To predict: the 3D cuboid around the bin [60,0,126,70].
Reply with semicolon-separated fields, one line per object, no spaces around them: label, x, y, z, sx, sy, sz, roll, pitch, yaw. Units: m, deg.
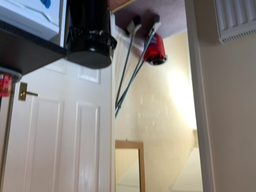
bin;-0.250;-0.600;1.650;0.270;0.660;0.400;-12;161;37
